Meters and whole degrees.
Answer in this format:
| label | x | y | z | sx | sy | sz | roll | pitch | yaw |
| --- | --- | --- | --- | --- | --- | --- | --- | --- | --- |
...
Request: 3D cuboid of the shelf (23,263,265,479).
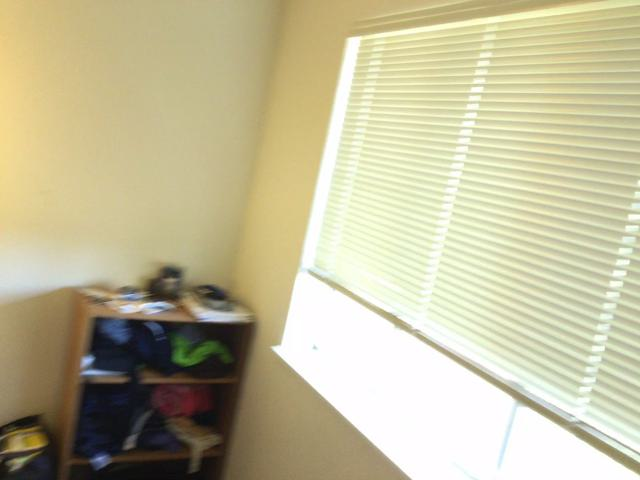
| label | x | y | z | sx | sy | sz | roll | pitch | yaw |
| --- | --- | --- | --- | --- | --- | --- | --- | --- | --- |
| shelf | -0.710 | 0.640 | 2.300 | 0.690 | 0.950 | 0.380 | 11 | 6 | -31 |
